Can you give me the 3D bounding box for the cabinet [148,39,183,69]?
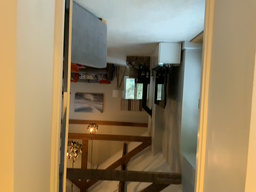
[{"bbox_3d":[0.780,-0.890,4.830,0.490,0.420,1.760,2,-177,1],"label":"cabinet"}]
